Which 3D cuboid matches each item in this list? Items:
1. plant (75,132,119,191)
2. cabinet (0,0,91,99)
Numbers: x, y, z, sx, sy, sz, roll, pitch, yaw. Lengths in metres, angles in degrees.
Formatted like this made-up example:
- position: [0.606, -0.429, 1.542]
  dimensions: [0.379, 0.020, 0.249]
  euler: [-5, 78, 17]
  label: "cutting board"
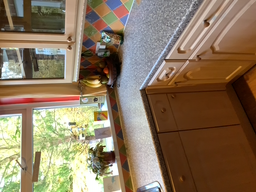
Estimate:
- position: [-0.300, 0.590, 1.920]
  dimensions: [0.280, 0.300, 0.420]
  euler: [117, 144, -55]
  label: "plant"
- position: [-0.760, -0.410, 1.410]
  dimensions: [1.170, 0.870, 0.340]
  euler: [119, 143, -57]
  label: "cabinet"
